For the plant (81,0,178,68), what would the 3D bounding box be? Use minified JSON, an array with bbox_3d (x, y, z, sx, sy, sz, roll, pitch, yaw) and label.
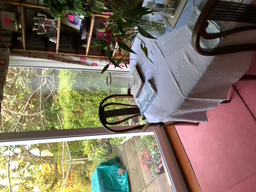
[{"bbox_3d":[-0.030,-0.470,1.390,0.320,0.460,0.460,112,149,-41],"label":"plant"}]
